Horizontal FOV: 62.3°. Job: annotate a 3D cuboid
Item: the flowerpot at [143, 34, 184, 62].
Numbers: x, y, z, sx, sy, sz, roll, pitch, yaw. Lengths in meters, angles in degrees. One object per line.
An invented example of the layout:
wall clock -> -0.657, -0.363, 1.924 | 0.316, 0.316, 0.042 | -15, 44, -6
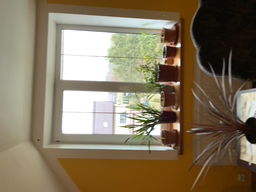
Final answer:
flowerpot -> 0.410, -0.560, 2.530 | 0.300, 0.410, 0.240 | 172, 101, -85

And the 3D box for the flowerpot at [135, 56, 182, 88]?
flowerpot -> 0.350, -0.270, 2.500 | 0.220, 0.490, 0.330 | 179, 93, -85

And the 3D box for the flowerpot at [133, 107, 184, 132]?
flowerpot -> 0.340, 0.260, 2.440 | 0.220, 0.530, 0.250 | 172, 101, -85

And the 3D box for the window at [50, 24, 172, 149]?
window -> -0.170, -0.110, 2.620 | 0.140, 1.400, 1.460 | 127, 145, -82
